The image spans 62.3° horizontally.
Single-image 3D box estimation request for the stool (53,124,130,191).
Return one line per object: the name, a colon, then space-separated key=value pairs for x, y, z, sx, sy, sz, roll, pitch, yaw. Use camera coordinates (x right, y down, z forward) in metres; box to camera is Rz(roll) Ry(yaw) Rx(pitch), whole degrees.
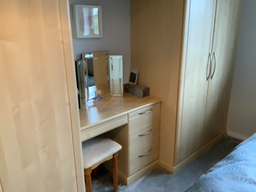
stool: x=-0.310 y=0.600 z=1.870 sx=0.460 sy=0.460 sz=0.450 roll=16 pitch=25 yaw=41
